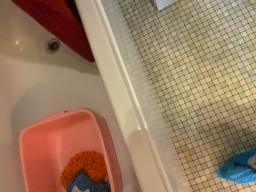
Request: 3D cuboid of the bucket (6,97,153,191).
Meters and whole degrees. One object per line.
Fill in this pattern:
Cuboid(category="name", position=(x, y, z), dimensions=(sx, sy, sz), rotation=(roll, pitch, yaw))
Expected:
Cuboid(category="bucket", position=(-0.180, 0.280, 0.890), dimensions=(0.400, 0.300, 0.390), rotation=(-26, 78, 10))

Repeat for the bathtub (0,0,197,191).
Cuboid(category="bathtub", position=(-0.240, 0.090, 0.820), dimensions=(0.700, 0.600, 1.380), rotation=(-22, 79, 11))
